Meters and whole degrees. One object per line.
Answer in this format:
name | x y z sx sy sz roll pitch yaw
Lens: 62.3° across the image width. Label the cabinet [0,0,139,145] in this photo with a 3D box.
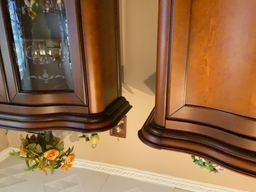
cabinet | -0.540 -0.520 1.160 1.080 1.260 0.590 5 -161 17
